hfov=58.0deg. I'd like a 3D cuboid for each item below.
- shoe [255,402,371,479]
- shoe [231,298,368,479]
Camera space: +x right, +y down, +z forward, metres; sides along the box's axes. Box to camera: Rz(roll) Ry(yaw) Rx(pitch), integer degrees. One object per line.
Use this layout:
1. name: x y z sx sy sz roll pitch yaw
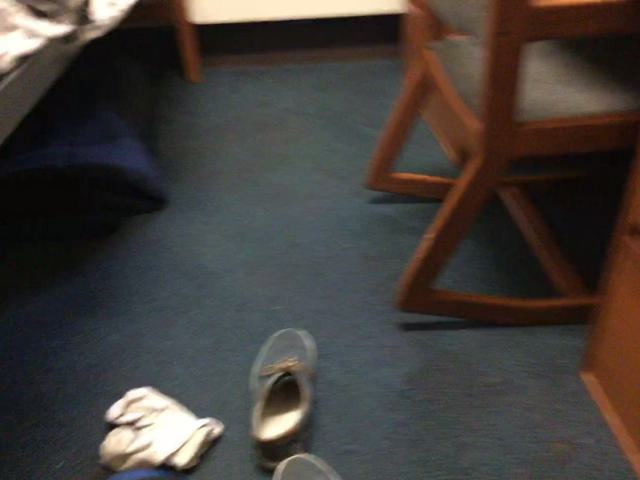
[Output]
1. shoe: 0.010 0.390 0.810 0.140 0.080 0.310 -11 36 -11
2. shoe: -0.050 0.270 1.000 0.160 0.080 0.390 -9 36 -9
